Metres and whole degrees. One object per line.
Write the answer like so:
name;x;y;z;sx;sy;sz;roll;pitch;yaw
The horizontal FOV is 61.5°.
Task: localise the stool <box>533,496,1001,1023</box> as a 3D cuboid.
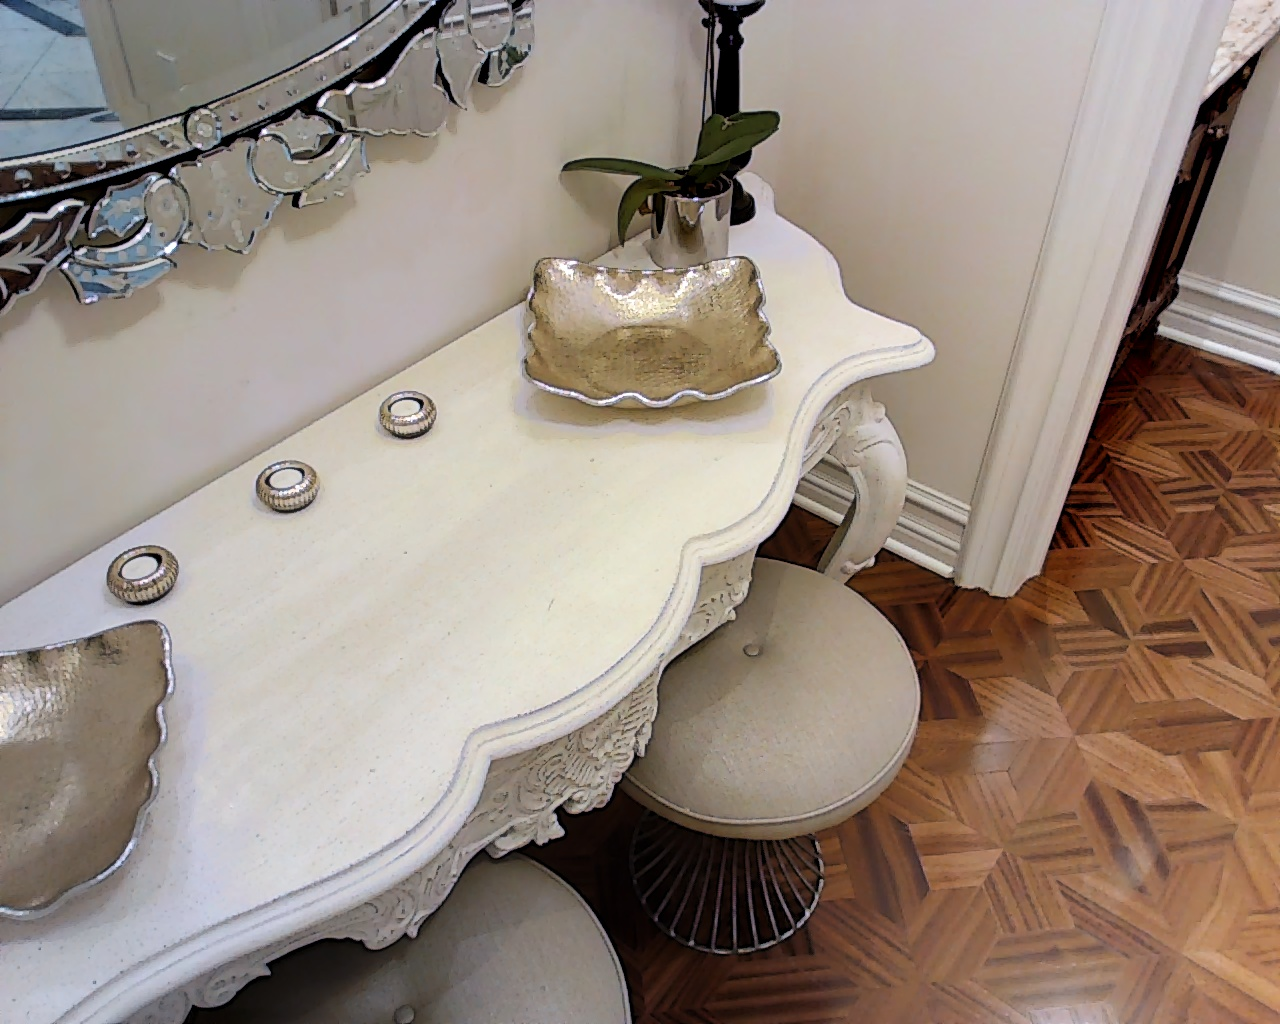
stool;0.190;0.410;1.660;0.470;0.570;0.500;21;46;22
